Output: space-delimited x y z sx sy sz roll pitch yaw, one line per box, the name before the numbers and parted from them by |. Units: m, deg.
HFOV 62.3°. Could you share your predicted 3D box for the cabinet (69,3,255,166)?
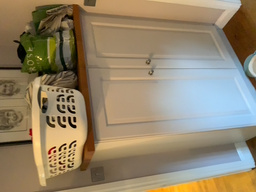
cabinet | 0.300 -0.130 1.740 0.460 1.420 1.080 118 144 -56
